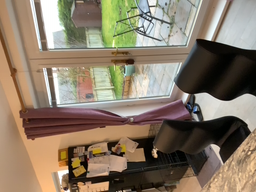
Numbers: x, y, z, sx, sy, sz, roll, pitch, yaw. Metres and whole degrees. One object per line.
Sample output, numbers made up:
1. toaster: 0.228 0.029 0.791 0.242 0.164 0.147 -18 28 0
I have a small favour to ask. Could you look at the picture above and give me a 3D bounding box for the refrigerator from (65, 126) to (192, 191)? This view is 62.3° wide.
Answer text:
1. refrigerator: -0.020 0.990 3.340 0.570 1.800 0.620 100 159 -44
